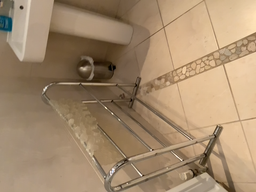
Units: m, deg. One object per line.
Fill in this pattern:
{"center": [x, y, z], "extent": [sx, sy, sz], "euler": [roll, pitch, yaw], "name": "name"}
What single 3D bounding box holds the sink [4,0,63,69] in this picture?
{"center": [-0.580, -0.500, 1.270], "extent": [0.430, 0.170, 0.540], "euler": [38, 119, 41], "name": "sink"}
